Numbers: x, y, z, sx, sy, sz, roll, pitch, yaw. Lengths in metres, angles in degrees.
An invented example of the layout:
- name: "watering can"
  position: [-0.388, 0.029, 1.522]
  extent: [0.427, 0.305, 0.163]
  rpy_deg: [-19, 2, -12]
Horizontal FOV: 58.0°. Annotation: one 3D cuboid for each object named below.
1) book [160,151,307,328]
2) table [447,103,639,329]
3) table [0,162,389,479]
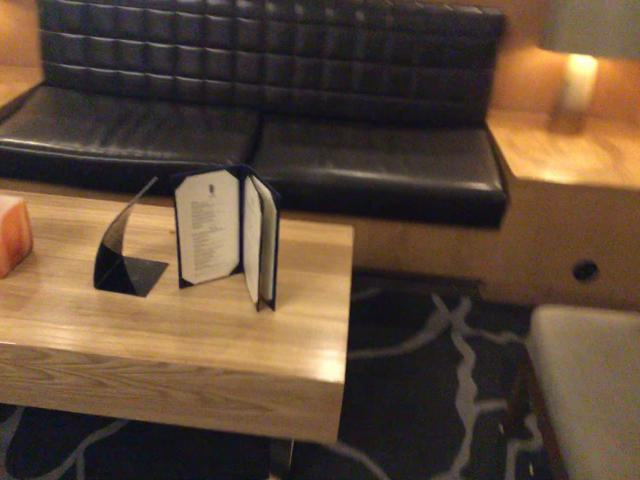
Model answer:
- name: "book"
  position: [-0.190, -0.010, 1.280]
  extent: [0.240, 0.280, 0.190]
  rpy_deg: [23, 33, 30]
- name: "table"
  position: [0.920, -0.120, 2.210]
  extent: [0.700, 0.570, 0.670]
  rpy_deg: [6, 28, 3]
- name: "table"
  position: [-0.530, 0.200, 1.480]
  extent: [1.350, 0.460, 0.770]
  rpy_deg: [6, 28, 3]
